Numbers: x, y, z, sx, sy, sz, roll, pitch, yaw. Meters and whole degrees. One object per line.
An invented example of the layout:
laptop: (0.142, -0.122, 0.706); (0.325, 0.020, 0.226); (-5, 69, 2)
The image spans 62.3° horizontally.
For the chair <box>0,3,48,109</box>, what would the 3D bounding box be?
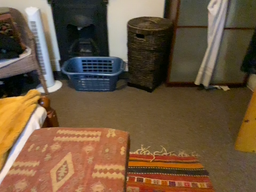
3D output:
chair: (-1.200, -0.380, 1.970); (0.580, 0.780, 0.570); (-20, 38, -28)
